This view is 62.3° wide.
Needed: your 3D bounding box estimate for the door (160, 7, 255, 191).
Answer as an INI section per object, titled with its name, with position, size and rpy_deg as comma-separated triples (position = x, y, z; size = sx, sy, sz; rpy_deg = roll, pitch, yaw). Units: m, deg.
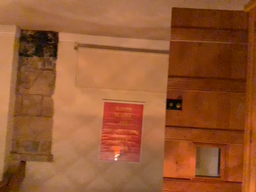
[door]
position = 0.790, 0.080, 2.060
size = 0.840, 1.830, 0.070
rpy_deg = 4, 178, -2
